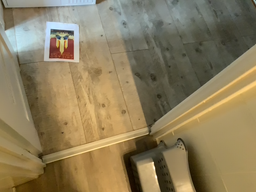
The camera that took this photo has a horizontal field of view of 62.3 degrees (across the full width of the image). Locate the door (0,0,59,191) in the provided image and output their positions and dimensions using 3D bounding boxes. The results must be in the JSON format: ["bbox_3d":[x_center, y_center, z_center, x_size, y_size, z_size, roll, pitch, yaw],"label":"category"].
[{"bbox_3d":[-0.320,-0.320,0.160,0.140,2.600,0.810,-16,73,-19],"label":"door"}]
